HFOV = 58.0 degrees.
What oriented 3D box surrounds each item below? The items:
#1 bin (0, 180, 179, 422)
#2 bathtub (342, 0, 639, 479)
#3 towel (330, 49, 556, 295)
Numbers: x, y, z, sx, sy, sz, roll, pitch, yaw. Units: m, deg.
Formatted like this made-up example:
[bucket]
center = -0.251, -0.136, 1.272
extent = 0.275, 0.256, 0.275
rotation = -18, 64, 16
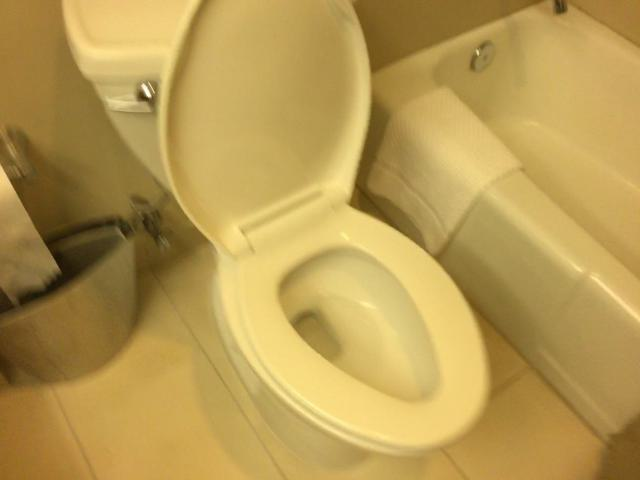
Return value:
[bin]
center = -0.490, 0.130, 1.130
extent = 0.330, 0.380, 0.160
rotation = -29, 60, -23
[bathtub]
center = 0.740, -0.020, 1.340
extent = 0.720, 0.370, 1.280
rotation = -29, 60, -23
[towel]
center = 0.270, -0.170, 1.440
extent = 0.270, 0.360, 0.420
rotation = -29, 60, -23
